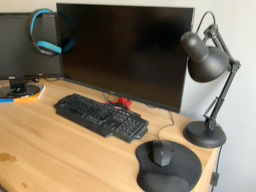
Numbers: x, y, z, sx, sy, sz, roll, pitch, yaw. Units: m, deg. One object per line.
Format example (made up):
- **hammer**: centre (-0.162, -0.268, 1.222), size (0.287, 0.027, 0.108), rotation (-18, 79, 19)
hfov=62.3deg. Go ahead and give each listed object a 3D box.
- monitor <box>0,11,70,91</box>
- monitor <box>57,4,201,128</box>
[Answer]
- **monitor**: centre (-0.570, -0.210, 1.050), size (0.500, 0.380, 0.040), rotation (-4, 28, -7)
- **monitor**: centre (-0.040, -0.150, 0.890), size (0.620, 0.420, 0.050), rotation (17, 32, 31)
